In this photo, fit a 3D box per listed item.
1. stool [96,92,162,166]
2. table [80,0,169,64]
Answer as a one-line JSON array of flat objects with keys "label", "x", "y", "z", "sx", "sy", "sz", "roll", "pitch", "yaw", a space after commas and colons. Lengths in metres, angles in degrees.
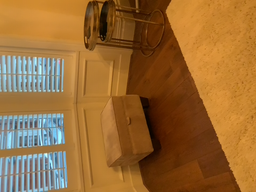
[{"label": "stool", "x": -0.030, "y": 0.360, "z": 2.310, "sx": 0.530, "sy": 0.450, "sz": 0.630, "roll": 127, "pitch": 137, "yaw": -54}, {"label": "table", "x": -0.080, "y": -0.740, "z": 2.170, "sx": 0.560, "sy": 0.660, "sz": 0.550, "roll": 126, "pitch": 138, "yaw": -53}]
